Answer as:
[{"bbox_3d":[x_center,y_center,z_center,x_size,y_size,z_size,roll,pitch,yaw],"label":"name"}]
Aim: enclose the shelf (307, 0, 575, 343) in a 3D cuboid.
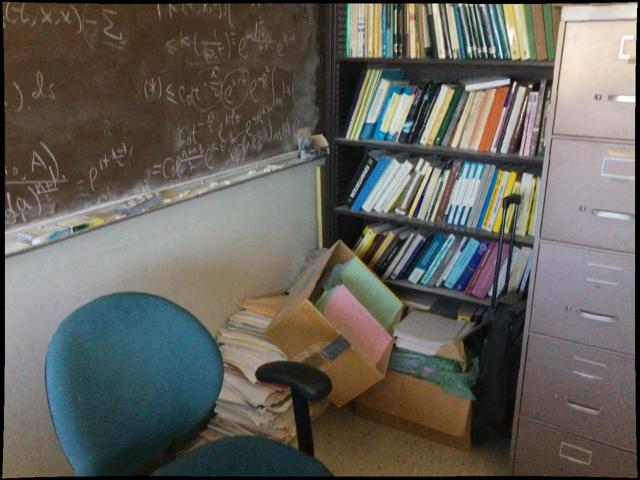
[{"bbox_3d":[0.429,-0.531,2.290,0.938,1.714,0.300,12,23,28],"label":"shelf"}]
